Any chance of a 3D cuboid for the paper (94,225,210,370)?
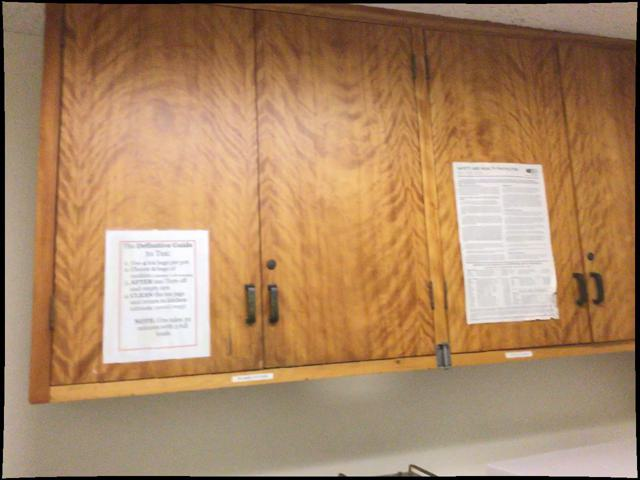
[{"bbox_3d":[-0.369,0.120,1.270,0.229,0.301,0.020,-3,-8,-17],"label":"paper"}]
